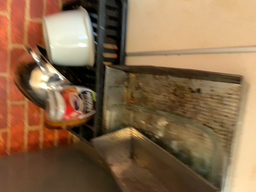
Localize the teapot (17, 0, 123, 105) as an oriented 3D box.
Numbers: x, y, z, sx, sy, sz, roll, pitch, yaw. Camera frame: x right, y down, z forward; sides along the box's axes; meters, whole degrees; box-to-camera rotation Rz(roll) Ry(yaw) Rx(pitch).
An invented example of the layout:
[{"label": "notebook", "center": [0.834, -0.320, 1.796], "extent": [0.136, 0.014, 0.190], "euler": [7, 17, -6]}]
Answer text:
[{"label": "teapot", "center": [-0.190, -0.130, 0.640], "extent": [0.300, 0.190, 0.260], "euler": [10, 99, 48]}]
